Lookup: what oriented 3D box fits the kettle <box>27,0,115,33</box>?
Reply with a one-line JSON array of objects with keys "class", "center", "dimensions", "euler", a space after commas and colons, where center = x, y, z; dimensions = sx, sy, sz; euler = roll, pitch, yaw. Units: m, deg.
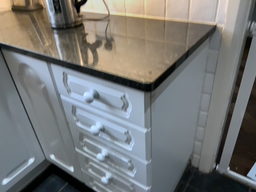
[{"class": "kettle", "center": [-0.260, -0.470, 0.980], "dimensions": [0.240, 0.240, 0.310], "euler": [17, 40, 28]}]
